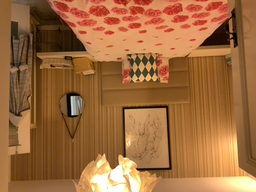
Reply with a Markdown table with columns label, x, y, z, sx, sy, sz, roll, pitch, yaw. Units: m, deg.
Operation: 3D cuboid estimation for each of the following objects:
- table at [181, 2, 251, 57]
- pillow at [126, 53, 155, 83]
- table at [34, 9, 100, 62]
| label | x | y | z | sx | sy | sz | roll | pitch | yaw |
| --- | --- | --- | --- | --- | --- | --- | --- | --- | --- |
| table | 1.270 | -0.960 | 3.170 | 0.830 | 0.630 | 0.440 | -2 | 176 | 3 |
| pillow | 0.170 | -0.370 | 2.870 | 0.360 | 0.360 | 0.210 | -2 | 176 | 4 |
| table | -0.910 | -0.900 | 3.250 | 0.860 | 0.630 | 0.470 | -2 | 176 | 3 |
